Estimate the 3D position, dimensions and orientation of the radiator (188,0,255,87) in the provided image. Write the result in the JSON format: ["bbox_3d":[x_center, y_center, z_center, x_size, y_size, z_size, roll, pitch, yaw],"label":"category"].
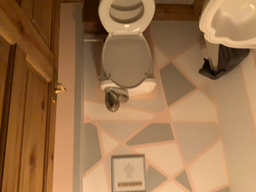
[{"bbox_3d":[0.680,-0.510,1.630,0.140,0.720,0.600,-2,164,-4],"label":"radiator"}]

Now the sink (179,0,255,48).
[{"bbox_3d":[0.540,-0.420,0.890,0.470,0.170,0.580,-2,165,-4],"label":"sink"}]
